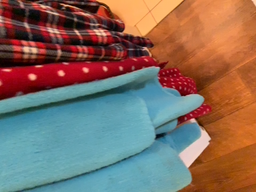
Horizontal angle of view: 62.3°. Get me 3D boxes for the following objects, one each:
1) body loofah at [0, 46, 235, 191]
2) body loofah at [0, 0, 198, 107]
[{"bbox_3d":[-0.060,0.120,0.340,0.180,1.080,0.320,-27,81,33],"label":"body loofah"},{"bbox_3d":[-0.210,-0.150,0.440,0.350,1.200,0.150,34,113,26],"label":"body loofah"}]
